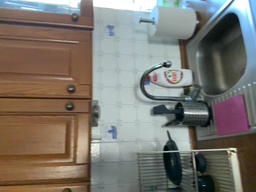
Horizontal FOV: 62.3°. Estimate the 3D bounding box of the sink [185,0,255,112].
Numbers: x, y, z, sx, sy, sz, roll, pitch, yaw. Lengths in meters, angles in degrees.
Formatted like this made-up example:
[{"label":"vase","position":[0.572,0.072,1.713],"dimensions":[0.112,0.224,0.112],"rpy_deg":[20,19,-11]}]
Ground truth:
[{"label":"sink","position":[0.480,-0.170,1.020],"dimensions":[0.480,0.160,0.410],"rpy_deg":[130,140,-71]}]
